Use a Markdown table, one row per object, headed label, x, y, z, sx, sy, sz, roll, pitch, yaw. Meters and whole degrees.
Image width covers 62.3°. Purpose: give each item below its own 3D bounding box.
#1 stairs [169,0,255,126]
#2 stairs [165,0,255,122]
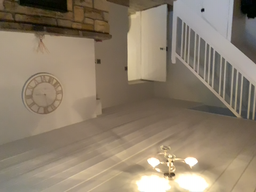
| label | x | y | z | sx | sy | sz | roll | pitch | yaw |
| --- | --- | --- | --- | --- | --- | --- | --- | --- | --- |
| stairs | 1.870 | -0.750 | 3.610 | 2.420 | 2.420 | 0.160 | 8 | -167 | 37 |
| stairs | 2.100 | -0.830 | 3.870 | 2.680 | 2.370 | 0.750 | 8 | -167 | 38 |
